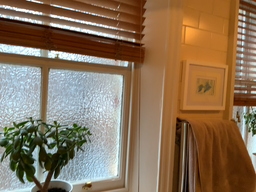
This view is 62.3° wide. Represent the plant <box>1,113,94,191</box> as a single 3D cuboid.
[{"bbox_3d":[-0.340,0.280,0.900,0.340,0.390,0.160,1,3,-30],"label":"plant"}]
